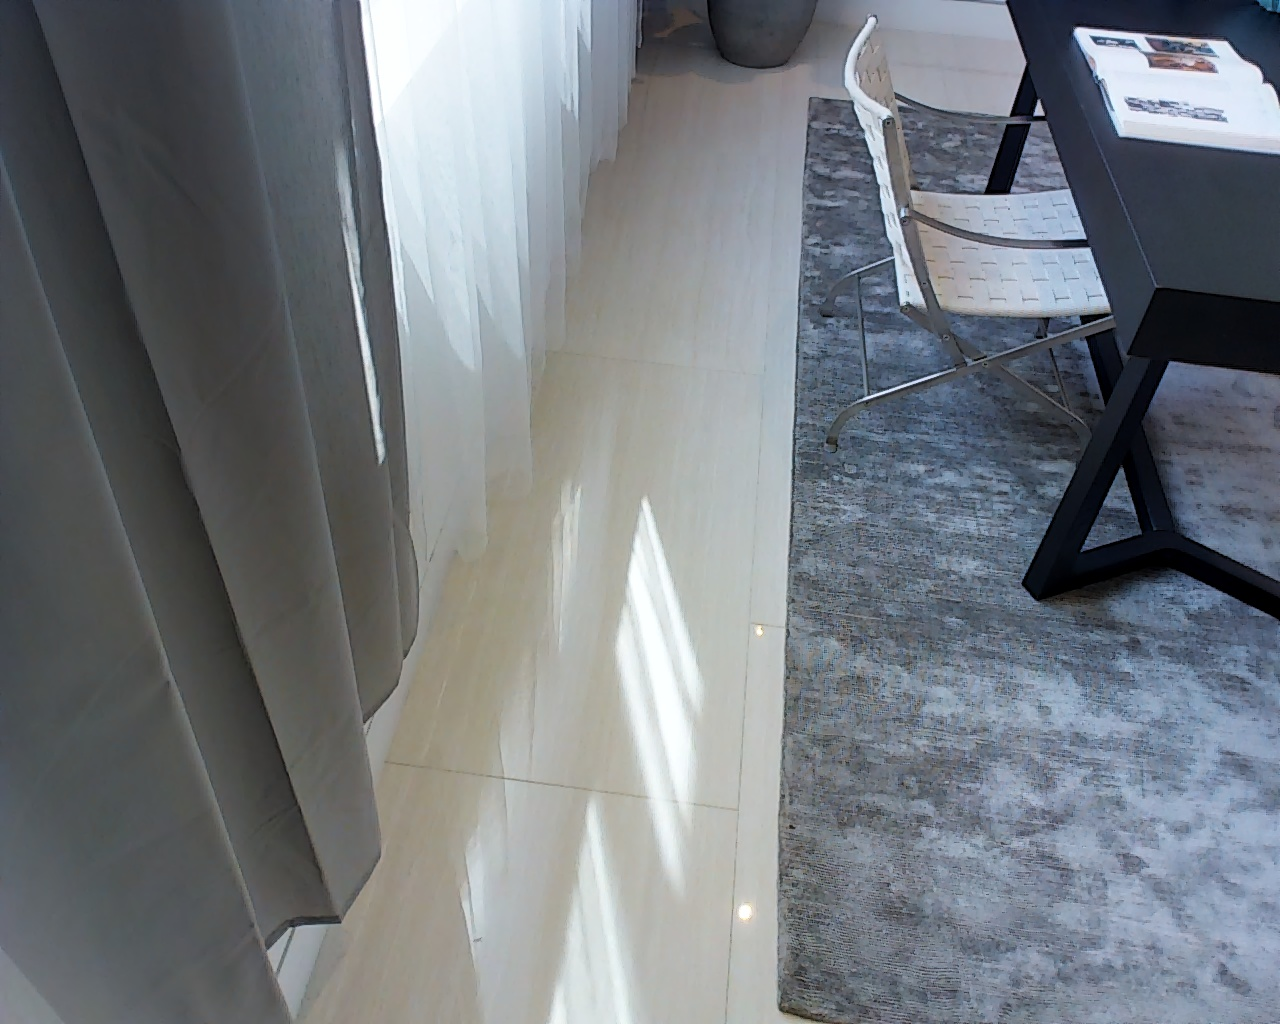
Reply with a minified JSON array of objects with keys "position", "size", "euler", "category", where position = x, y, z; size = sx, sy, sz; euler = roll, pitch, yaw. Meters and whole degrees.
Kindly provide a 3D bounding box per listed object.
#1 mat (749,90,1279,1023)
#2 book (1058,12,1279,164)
[{"position":[1.550,-0.240,2.640],"size":[2.389,0.060,3.270],"euler":[7,44,3],"category":"mat"},{"position":[1.040,-0.830,2.080],"size":[0.360,0.040,0.570],"euler":[7,44,3],"category":"book"}]
